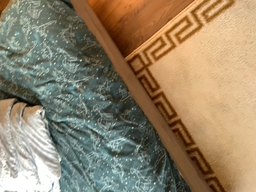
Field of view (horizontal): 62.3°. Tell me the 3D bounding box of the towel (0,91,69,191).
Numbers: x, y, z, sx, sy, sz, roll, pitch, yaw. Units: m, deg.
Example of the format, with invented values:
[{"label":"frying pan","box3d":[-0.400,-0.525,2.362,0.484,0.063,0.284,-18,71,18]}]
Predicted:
[{"label":"towel","box3d":[-0.850,0.380,1.280,1.160,0.130,0.770,-1,102,30]}]
